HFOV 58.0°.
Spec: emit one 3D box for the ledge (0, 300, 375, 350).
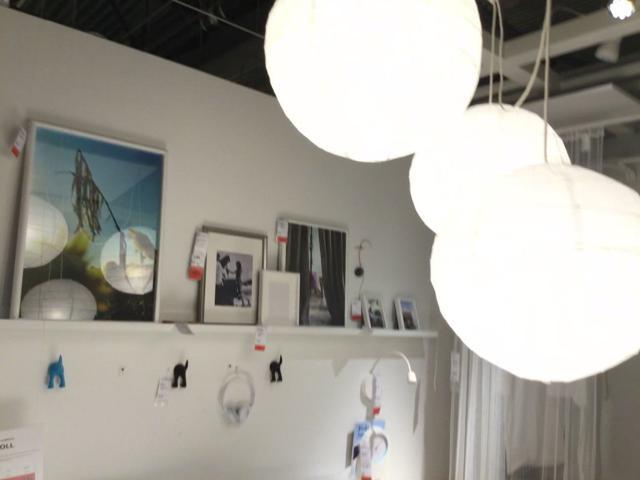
[{"bbox_3d":[-0.430,0.370,2.410,1.650,0.160,0.150,8,-9,-37],"label":"ledge"}]
